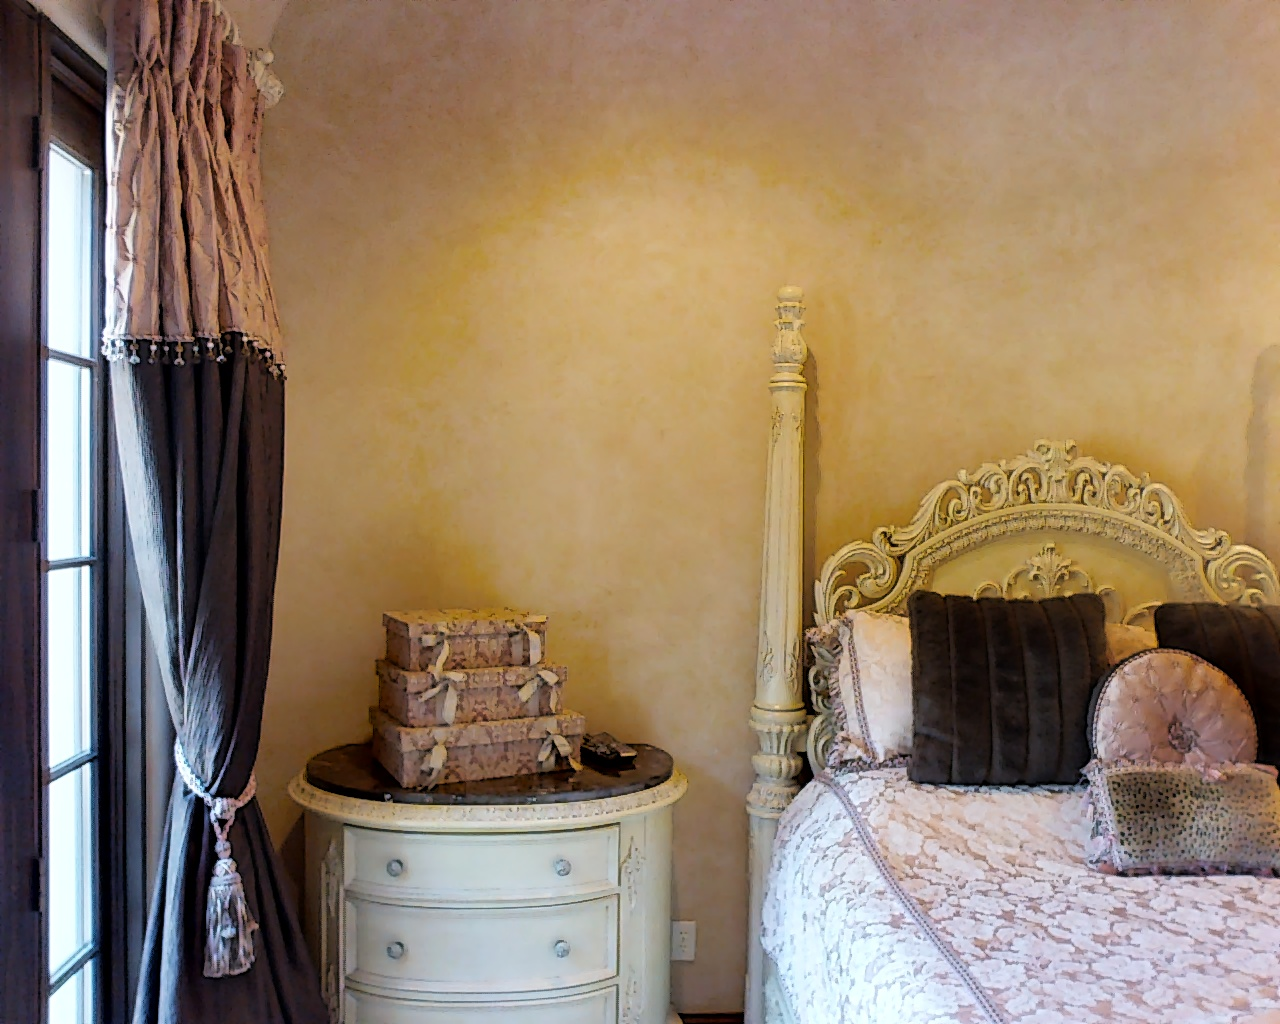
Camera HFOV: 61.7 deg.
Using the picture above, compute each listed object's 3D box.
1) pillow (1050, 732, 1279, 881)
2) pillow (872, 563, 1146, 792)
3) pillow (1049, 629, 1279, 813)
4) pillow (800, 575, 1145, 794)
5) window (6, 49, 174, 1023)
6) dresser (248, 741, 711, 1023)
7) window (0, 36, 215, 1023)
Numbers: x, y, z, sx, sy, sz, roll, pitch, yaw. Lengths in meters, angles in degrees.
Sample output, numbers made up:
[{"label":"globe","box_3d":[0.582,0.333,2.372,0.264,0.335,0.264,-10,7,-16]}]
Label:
[{"label":"pillow","box_3d":[1.200,0.640,2.320,0.500,0.260,0.180,3,41,-2]},{"label":"pillow","box_3d":[0.860,0.390,2.560,0.500,0.470,0.260,1,17,-5]},{"label":"pillow","box_3d":[1.210,0.480,2.490,0.390,0.360,0.220,1,13,-5]},{"label":"pillow","box_3d":[0.820,0.440,2.750,0.720,0.460,0.300,1,25,-5]},{"label":"window","box_3d":[-1.060,0.360,2.100,0.070,2.290,0.560,1,0,-5]},{"label":"dresser","box_3d":[-0.380,1.080,2.680,1.040,0.900,0.480,1,0,-5]},{"label":"window","box_3d":[-1.170,0.360,2.150,0.360,2.290,0.790,1,0,-5]}]
